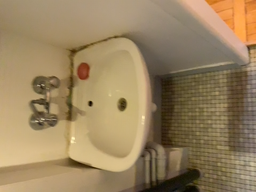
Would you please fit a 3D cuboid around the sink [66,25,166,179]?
[{"bbox_3d":[-0.060,0.030,0.910,0.400,0.180,0.520,-4,82,40],"label":"sink"}]
